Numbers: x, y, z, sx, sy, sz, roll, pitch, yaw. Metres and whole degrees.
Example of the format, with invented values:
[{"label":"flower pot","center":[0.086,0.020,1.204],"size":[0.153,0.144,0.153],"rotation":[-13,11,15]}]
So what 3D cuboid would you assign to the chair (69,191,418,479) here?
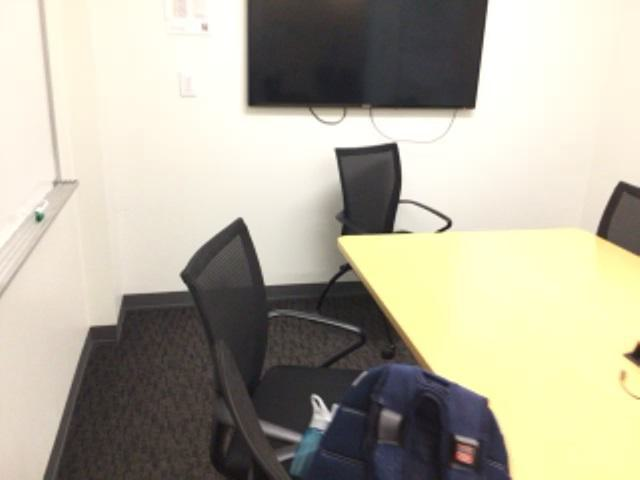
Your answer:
[{"label":"chair","center":[-0.120,0.400,1.500],"size":[0.610,0.890,0.620],"rotation":[6,20,16]}]
